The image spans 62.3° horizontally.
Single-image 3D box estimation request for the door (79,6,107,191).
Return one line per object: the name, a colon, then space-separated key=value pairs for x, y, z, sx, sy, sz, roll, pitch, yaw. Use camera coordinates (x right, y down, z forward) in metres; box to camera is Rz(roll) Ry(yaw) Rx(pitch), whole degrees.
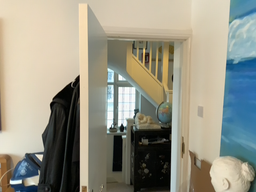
door: x=-0.220 y=0.520 z=1.490 sx=0.030 sy=1.960 sz=0.820 roll=1 pitch=5 yaw=1
